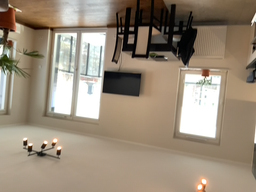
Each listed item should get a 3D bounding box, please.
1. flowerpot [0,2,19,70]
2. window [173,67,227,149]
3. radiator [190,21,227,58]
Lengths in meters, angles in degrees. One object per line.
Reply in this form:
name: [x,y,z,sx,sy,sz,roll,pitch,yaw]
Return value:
flowerpot: [-2.600,-1.190,4.280,0.430,1.230,0.440,5,-179,12]
window: [1.470,0.220,4.370,0.900,1.580,0.120,6,-179,22]
radiator: [1.530,-1.080,4.060,0.580,0.640,0.180,5,-179,18]
